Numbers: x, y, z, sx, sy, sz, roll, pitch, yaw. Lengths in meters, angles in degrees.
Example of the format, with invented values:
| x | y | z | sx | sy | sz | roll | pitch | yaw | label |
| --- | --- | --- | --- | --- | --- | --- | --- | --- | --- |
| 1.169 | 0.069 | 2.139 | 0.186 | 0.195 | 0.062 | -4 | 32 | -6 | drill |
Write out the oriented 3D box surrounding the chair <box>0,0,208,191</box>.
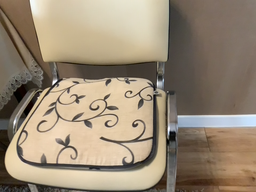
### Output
| x | y | z | sx | sy | sz | roll | pitch | yaw | label |
| --- | --- | --- | --- | --- | --- | --- | --- | --- | --- |
| -0.100 | 0.060 | 0.770 | 0.500 | 0.810 | 0.560 | -1 | 43 | 6 | chair |
